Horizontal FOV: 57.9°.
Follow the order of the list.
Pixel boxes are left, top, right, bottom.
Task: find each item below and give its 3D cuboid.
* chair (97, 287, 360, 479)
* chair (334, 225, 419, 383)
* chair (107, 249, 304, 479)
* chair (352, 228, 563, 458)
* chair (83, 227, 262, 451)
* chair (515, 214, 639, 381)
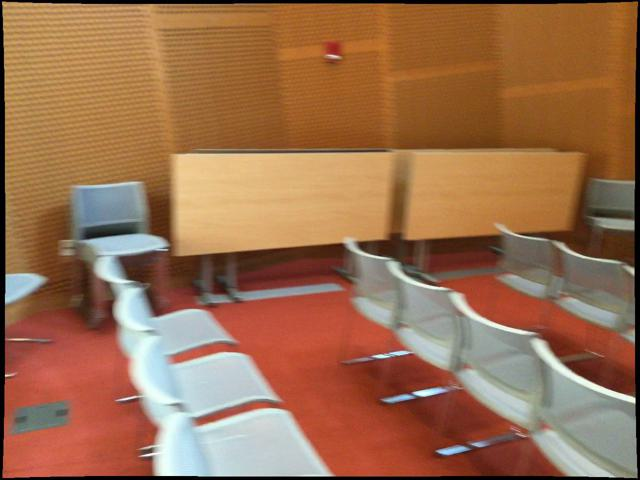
[{"bbox_3d":[-0.310,0.671,1.830,0.639,0.741,0.710,-8,21,-18],"label":"chair"},{"bbox_3d":[0.280,0.320,3.040,0.160,0.671,0.500,-13,23,-29],"label":"chair"},{"bbox_3d":[-0.460,0.521,2.260,0.589,0.721,0.650,-8,21,-20],"label":"chair"},{"bbox_3d":[0.589,0.420,2.740,0.510,0.681,0.830,-12,22,-27],"label":"chair"},{"bbox_3d":[-0.679,0.410,2.690,0.550,0.731,0.590,-15,24,-34],"label":"chair"},{"bbox_3d":[1.528,0.300,3.320,0.470,0.721,0.540,-12,22,-28],"label":"chair"}]
